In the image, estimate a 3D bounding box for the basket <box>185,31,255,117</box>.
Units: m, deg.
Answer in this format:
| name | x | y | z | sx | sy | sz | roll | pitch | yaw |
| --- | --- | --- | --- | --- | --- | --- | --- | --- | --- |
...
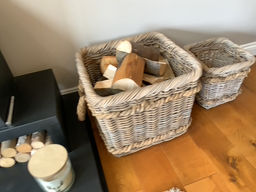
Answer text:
| name | x | y | z | sx | sy | sz | roll | pitch | yaw |
| --- | --- | --- | --- | --- | --- | --- | --- | --- | --- |
| basket | 0.590 | -0.140 | 1.350 | 0.310 | 0.410 | 0.280 | -13 | 41 | -10 |
